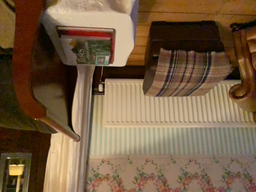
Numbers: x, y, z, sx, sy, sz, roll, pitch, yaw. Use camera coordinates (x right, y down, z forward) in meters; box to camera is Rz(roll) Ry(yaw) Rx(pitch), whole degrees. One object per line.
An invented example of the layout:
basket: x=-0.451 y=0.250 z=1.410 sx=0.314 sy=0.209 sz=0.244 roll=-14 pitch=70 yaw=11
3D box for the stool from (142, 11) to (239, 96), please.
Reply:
stool: x=0.450 y=-0.320 z=1.780 sx=0.610 sy=0.500 sz=0.540 roll=0 pitch=164 yaw=-2

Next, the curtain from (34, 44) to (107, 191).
curtain: x=-0.490 y=0.850 z=1.890 sx=0.540 sy=2.690 sz=0.410 roll=0 pitch=164 yaw=-4
